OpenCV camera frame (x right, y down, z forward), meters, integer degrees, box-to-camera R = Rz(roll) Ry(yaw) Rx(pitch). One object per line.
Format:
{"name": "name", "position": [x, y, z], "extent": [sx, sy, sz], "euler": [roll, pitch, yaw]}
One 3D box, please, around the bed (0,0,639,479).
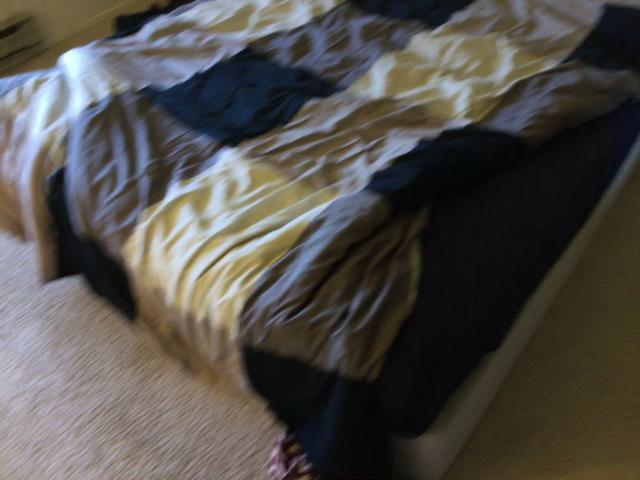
{"name": "bed", "position": [0.150, -0.510, 1.910], "extent": [1.800, 0.600, 2.170], "euler": [26, 52, 29]}
